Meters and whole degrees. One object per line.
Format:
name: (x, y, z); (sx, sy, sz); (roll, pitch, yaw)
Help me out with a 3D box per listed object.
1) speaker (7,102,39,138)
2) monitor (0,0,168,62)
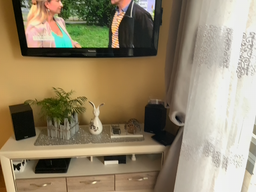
speaker: (-0.890, 0.200, 1.820); (0.170, 0.230, 0.210); (-1, 20, -8)
monitor: (-0.310, -0.660, 1.660); (1.260, 0.770, 0.060); (-1, 15, -7)
